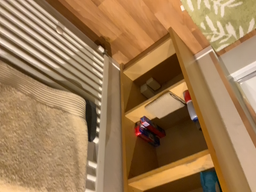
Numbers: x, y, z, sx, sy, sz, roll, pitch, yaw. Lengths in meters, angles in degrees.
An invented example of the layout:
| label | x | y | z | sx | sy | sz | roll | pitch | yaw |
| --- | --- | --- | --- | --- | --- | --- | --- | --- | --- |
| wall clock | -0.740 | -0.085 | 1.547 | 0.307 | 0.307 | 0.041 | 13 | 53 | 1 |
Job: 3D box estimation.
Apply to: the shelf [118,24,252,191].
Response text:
| label | x | y | z | sx | sy | sz | roll | pitch | yaw |
| --- | --- | --- | --- | --- | --- | --- | --- | --- | --- |
| shelf | 0.210 | 0.140 | 1.070 | 0.420 | 1.060 | 0.300 | -32 | 131 | 28 |

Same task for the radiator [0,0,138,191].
| label | x | y | z | sx | sy | sz | roll | pitch | yaw |
| --- | --- | --- | --- | --- | --- | --- | --- | --- | --- |
| radiator | -0.270 | -0.070 | 0.810 | 0.160 | 0.850 | 0.690 | -32 | 130 | 28 |
